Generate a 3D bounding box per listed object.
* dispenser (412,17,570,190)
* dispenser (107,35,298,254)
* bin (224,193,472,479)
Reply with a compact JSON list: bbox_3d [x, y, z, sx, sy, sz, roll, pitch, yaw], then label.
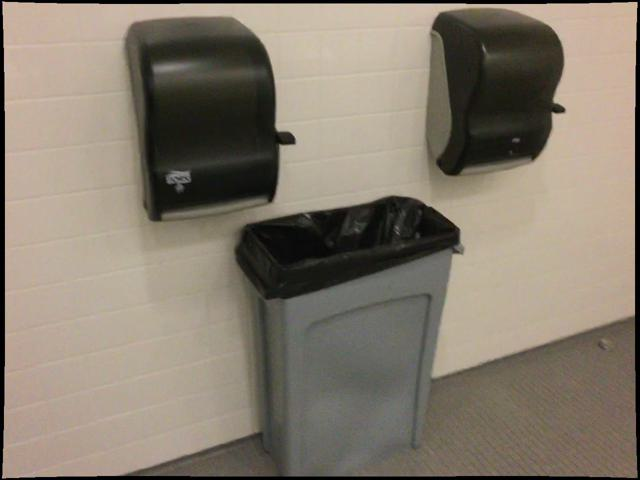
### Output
[{"bbox_3d":[0.449,-0.381,1.570,0.299,0.391,0.230,-12,28,-21],"label":"dispenser"},{"bbox_3d":[-0.259,-0.231,1.310,0.339,0.401,0.240,-12,28,-21],"label":"dispenser"},{"bbox_3d":[0.080,0.321,1.670,0.579,0.772,0.290,-12,28,-21],"label":"bin"}]
